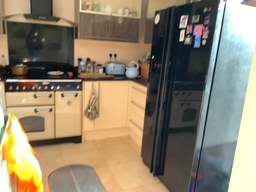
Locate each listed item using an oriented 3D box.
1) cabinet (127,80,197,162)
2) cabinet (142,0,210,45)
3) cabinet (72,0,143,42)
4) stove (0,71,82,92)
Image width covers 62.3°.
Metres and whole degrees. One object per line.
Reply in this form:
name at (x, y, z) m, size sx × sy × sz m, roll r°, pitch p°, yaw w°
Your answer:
cabinet at (0.420, 0.280, 2.920) m, size 0.610 × 0.900 × 0.660 m, roll -3°, pitch 15°, yaw -24°
cabinet at (0.580, -1.070, 2.780) m, size 0.340 × 0.740 × 0.920 m, roll -3°, pitch 15°, yaw -24°
cabinet at (-0.300, -1.190, 3.100) m, size 0.940 × 0.720 × 0.370 m, roll -2°, pitch 15°, yaw -24°
stove at (-1.140, -0.210, 2.800) m, size 0.910 × 0.140 × 0.670 m, roll -2°, pitch 15°, yaw -24°
